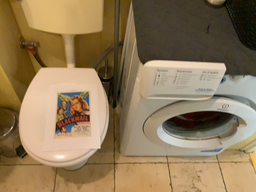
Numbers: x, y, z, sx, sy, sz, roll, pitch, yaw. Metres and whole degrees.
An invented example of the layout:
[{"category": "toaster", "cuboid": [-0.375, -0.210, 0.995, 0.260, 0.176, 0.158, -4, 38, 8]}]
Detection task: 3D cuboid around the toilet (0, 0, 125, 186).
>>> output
[{"category": "toilet", "cuboid": [-0.260, -0.050, 0.900, 0.360, 0.970, 0.620, 1, 57, -8]}]
